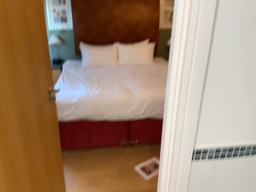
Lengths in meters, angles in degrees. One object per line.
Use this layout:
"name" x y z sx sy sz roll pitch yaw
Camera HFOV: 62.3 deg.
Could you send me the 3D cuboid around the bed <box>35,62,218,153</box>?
"bed" -0.110 -0.030 3.400 2.050 0.510 2.070 -2 23 -8
